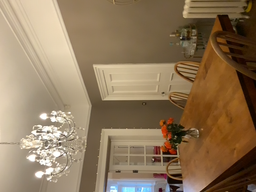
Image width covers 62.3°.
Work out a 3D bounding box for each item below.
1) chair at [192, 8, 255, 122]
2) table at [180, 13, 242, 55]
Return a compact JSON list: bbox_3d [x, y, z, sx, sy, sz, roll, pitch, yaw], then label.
[{"bbox_3d":[0.940,-0.180,1.340,0.530,0.880,0.480,86,-176,-53],"label":"chair"},{"bbox_3d":[1.120,-0.860,2.970,0.390,0.660,0.400,86,-176,-56],"label":"table"}]
